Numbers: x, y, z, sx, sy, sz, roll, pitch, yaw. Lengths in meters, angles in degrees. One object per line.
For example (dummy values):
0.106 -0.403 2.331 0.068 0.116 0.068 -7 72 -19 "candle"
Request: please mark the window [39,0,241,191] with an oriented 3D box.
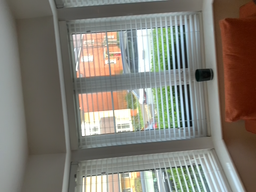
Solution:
0.080 -0.180 1.790 0.600 1.320 2.220 -157 63 -87 "window"
